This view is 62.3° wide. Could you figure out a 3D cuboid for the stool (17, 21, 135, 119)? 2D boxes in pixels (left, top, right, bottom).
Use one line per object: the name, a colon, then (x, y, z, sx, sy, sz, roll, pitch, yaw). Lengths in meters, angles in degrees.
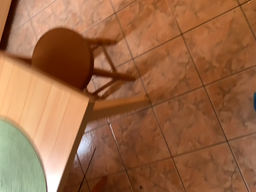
stool: (-0.230, -0.120, 1.100, 0.300, 0.470, 0.310, 28, 102, 17)
